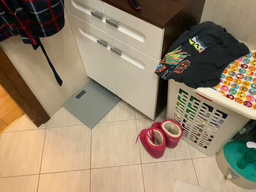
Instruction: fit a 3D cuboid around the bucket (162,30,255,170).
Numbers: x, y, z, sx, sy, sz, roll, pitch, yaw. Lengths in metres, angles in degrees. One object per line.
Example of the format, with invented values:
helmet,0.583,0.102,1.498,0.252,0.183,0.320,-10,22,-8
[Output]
bucket,0.470,0.050,1.110,0.430,0.570,0.310,29,61,21
